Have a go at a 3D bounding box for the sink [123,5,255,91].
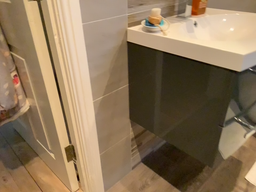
[{"bbox_3d":[0.380,-0.270,0.910,0.650,0.110,0.480,-28,41,-36],"label":"sink"}]
